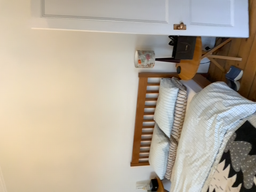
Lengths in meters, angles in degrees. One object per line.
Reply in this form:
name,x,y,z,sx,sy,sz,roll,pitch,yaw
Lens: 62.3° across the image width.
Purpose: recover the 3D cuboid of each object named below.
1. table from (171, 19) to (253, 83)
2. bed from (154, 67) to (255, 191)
table,0.910,-0.540,2.470,0.630,0.540,0.580,-110,23,-62
bed,0.940,0.820,2.350,2.130,0.530,1.660,-110,23,-62
